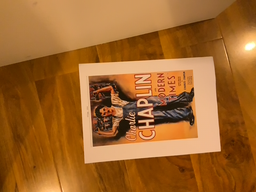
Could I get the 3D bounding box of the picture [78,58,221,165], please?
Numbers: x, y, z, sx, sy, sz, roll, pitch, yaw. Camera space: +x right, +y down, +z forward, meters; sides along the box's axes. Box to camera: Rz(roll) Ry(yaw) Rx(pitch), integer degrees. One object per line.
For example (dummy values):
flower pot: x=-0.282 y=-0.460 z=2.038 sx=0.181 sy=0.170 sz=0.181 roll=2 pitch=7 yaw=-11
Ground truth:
picture: x=0.050 y=0.030 z=0.460 sx=0.300 sy=0.001 sz=0.210 roll=-4 pitch=89 yaw=-5
